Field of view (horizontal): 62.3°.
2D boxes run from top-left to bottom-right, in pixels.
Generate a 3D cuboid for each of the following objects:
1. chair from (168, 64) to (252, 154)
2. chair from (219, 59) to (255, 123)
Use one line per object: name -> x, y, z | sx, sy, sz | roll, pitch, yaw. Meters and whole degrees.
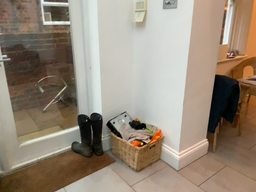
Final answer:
chair -> 0.920, 0.090, 2.450 | 0.620, 0.770, 0.580 | -17, 27, -40
chair -> 1.890, -0.110, 3.120 | 0.620, 0.730, 0.670 | -9, 23, -27
